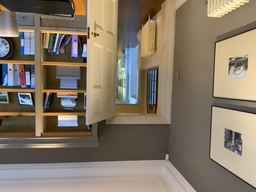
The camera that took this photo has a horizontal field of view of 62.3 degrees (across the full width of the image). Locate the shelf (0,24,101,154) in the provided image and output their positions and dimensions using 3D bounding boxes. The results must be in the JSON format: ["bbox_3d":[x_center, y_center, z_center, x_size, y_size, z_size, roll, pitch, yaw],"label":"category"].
[{"bbox_3d":[-1.890,-0.100,3.030,2.940,1.670,0.680,1,-176,-7],"label":"shelf"}]
